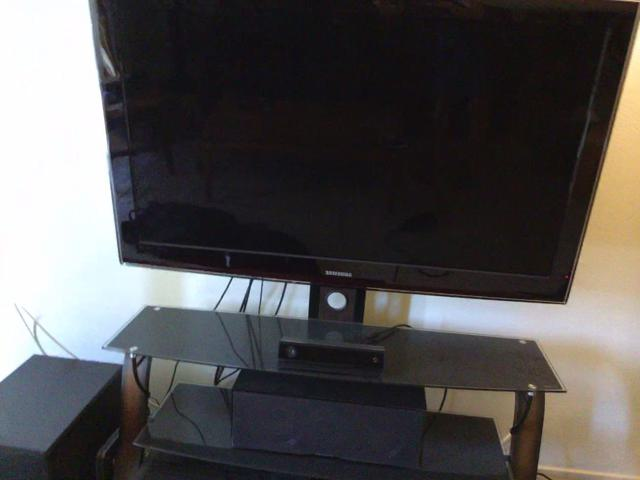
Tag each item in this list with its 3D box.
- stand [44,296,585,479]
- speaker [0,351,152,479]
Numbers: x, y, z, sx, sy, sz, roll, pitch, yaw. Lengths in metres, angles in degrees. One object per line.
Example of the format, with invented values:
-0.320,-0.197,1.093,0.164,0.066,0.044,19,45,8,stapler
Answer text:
-0.010,0.540,1.560,1.180,0.620,0.500,1,13,7,stand
-0.760,0.570,1.540,0.440,0.380,0.440,1,13,7,speaker
